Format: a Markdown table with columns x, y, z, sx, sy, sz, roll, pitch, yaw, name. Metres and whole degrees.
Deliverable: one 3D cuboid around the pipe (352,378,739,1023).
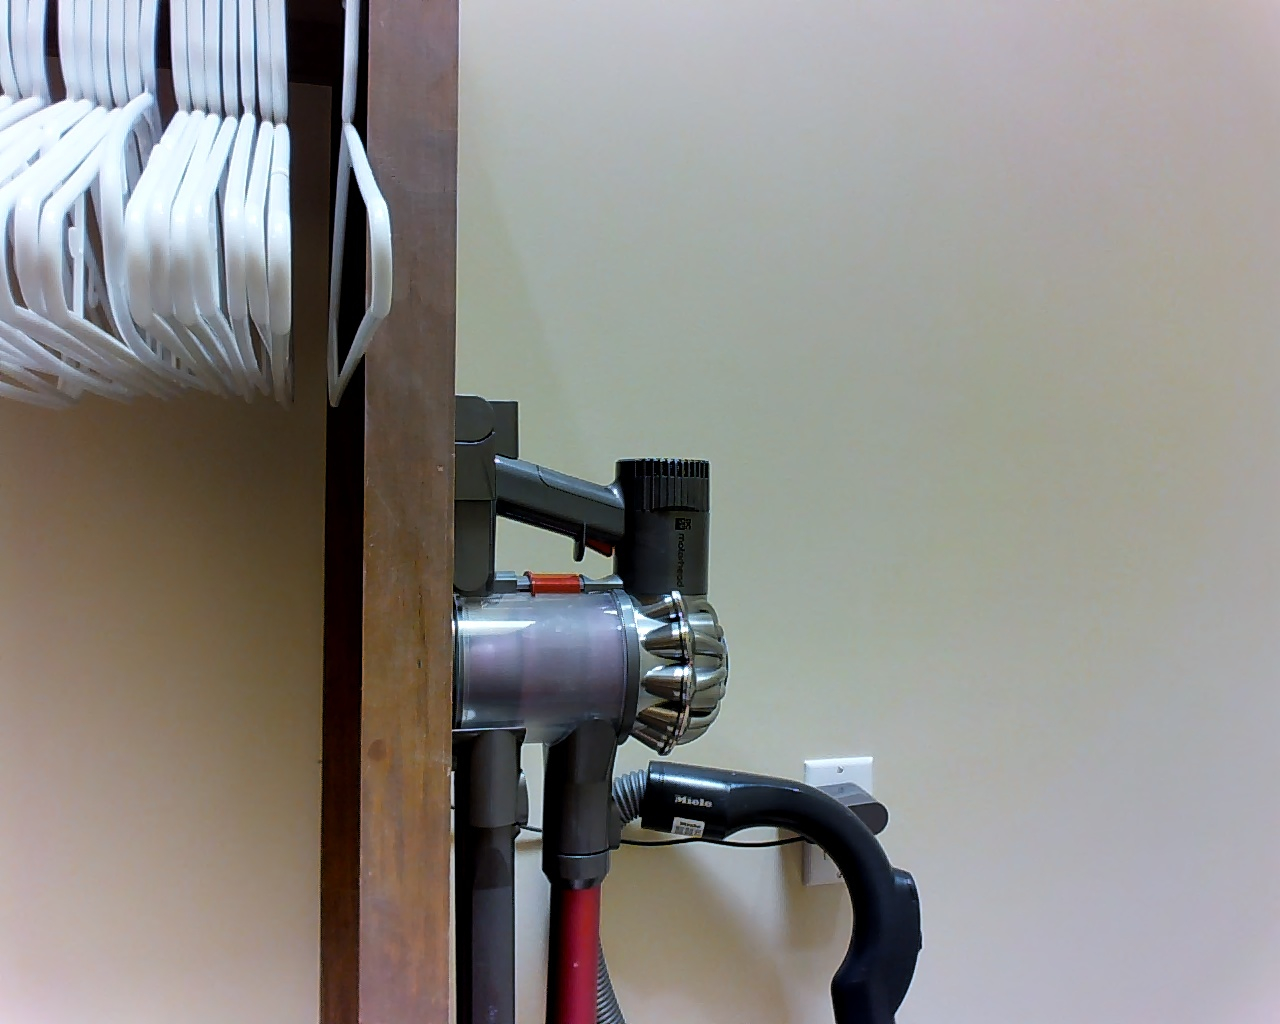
| x | y | z | sx | sy | sz | roll | pitch | yaw | name |
| --- | --- | --- | --- | --- | --- | --- | --- | --- | --- |
| -0.080 | 0.490 | 0.780 | 0.230 | 1.140 | 0.190 | 1 | 0 | -22 | pipe |
